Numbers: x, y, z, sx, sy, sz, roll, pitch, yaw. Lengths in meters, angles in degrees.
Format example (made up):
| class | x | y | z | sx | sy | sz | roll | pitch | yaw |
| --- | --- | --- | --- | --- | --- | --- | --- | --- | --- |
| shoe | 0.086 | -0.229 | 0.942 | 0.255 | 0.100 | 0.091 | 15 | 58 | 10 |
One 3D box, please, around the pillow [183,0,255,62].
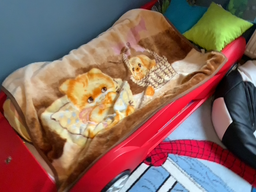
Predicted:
| class | x | y | z | sx | sy | sz | roll | pitch | yaw |
| --- | --- | --- | --- | --- | --- | --- | --- | --- | --- |
| pillow | 0.750 | -0.560 | 1.650 | 0.360 | 0.240 | 0.490 | 38 | 59 | 22 |
